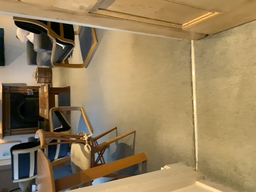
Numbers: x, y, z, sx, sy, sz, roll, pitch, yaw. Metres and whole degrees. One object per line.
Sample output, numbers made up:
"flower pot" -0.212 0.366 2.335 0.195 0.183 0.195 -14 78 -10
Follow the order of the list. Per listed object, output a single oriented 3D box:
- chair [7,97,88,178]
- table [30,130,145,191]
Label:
"chair" -1.200 0.530 3.060 0.800 0.930 0.690 55 135 44
"table" -0.420 1.390 1.930 0.990 0.740 1.990 -3 88 60
